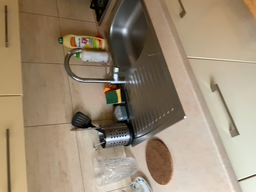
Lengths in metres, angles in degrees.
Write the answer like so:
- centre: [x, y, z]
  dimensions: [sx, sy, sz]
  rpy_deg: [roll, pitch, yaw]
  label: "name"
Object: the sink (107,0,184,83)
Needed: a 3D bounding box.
- centre: [0.060, -0.340, 1.150]
  dimensions: [0.380, 0.150, 0.410]
  rpy_deg: [-45, 53, 53]
  label: "sink"
